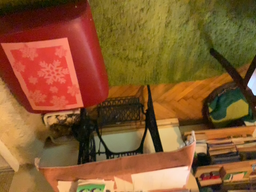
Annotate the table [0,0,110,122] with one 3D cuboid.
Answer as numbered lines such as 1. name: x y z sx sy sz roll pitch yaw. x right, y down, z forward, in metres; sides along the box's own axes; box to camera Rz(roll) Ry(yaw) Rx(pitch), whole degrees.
1. table: -0.420 -0.210 1.230 0.520 0.360 0.570 -9 134 0
